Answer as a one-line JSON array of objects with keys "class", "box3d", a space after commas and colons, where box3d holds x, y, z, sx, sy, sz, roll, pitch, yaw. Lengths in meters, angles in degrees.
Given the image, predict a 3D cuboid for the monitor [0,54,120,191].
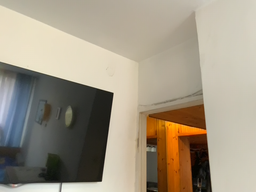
[{"class": "monitor", "box3d": [-0.560, 0.170, 1.220, 1.140, 0.660, 0.080, 23, -25, -35]}]
